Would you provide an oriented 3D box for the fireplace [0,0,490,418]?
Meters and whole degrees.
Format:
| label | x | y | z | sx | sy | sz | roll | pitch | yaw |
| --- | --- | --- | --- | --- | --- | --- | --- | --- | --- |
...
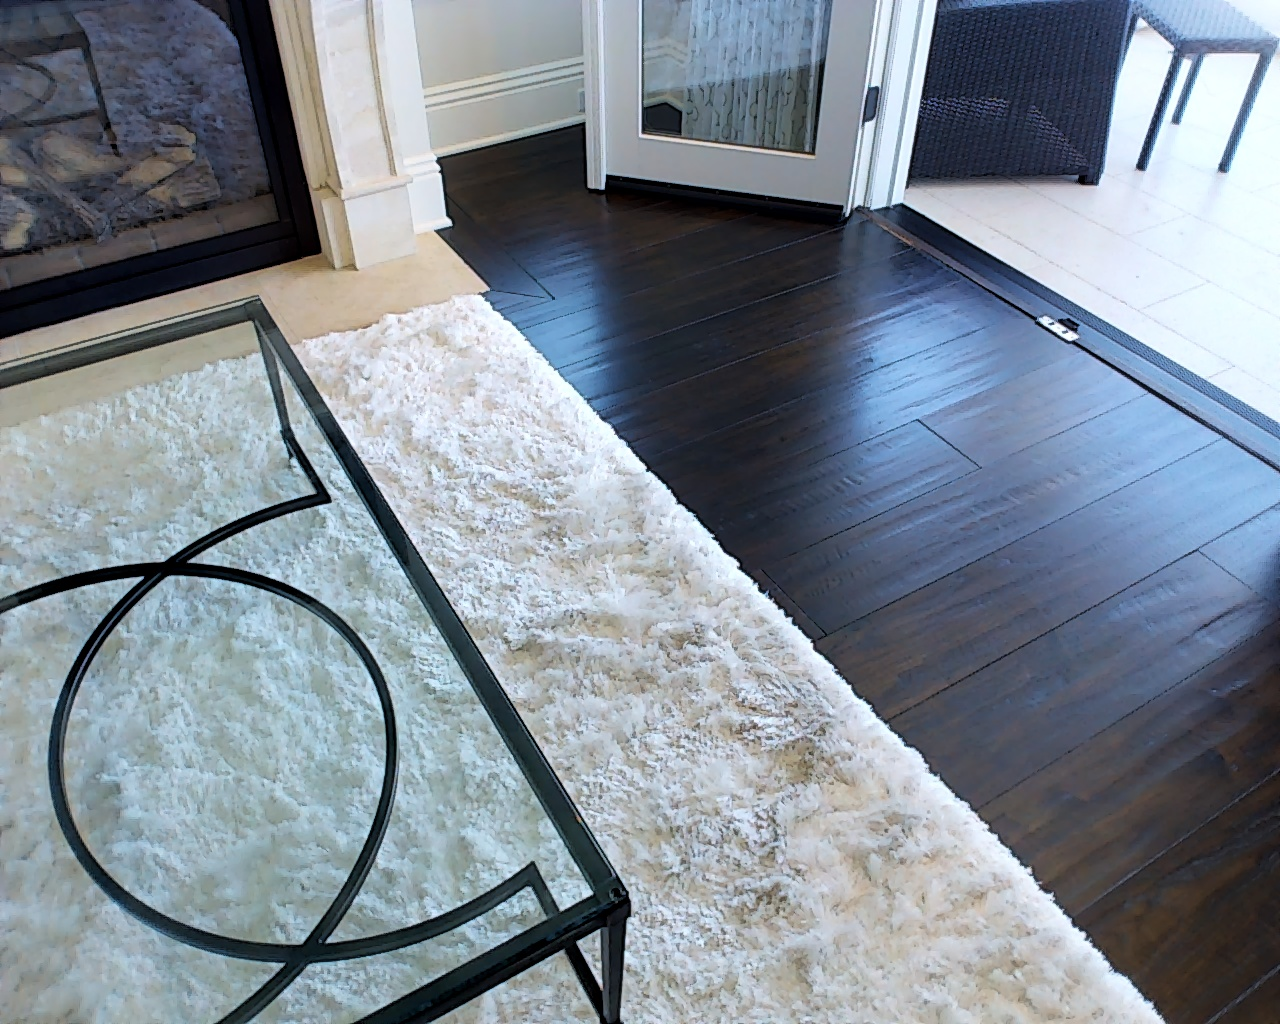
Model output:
| label | x | y | z | sx | sy | sz | roll | pitch | yaw |
| --- | --- | --- | --- | --- | --- | --- | --- | --- | --- |
| fireplace | -1.320 | -1.030 | 2.460 | 1.720 | 1.320 | 0.610 | -22 | 46 | -23 |
